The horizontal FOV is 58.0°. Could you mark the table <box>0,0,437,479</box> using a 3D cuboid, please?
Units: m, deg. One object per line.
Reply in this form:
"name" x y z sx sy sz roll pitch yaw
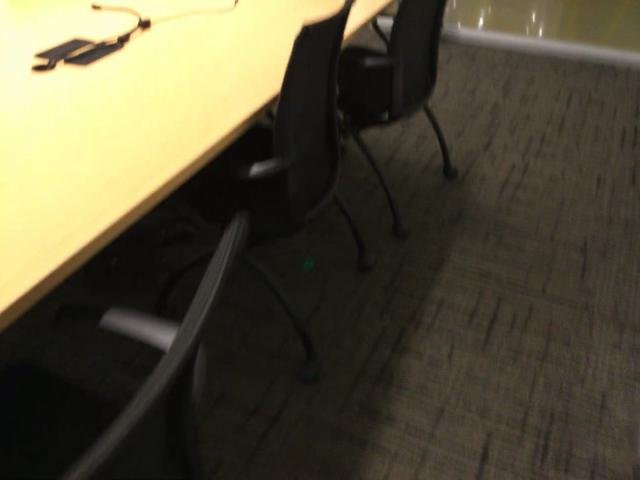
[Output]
"table" -0.630 -0.240 1.740 1.250 0.840 2.420 17 40 19
